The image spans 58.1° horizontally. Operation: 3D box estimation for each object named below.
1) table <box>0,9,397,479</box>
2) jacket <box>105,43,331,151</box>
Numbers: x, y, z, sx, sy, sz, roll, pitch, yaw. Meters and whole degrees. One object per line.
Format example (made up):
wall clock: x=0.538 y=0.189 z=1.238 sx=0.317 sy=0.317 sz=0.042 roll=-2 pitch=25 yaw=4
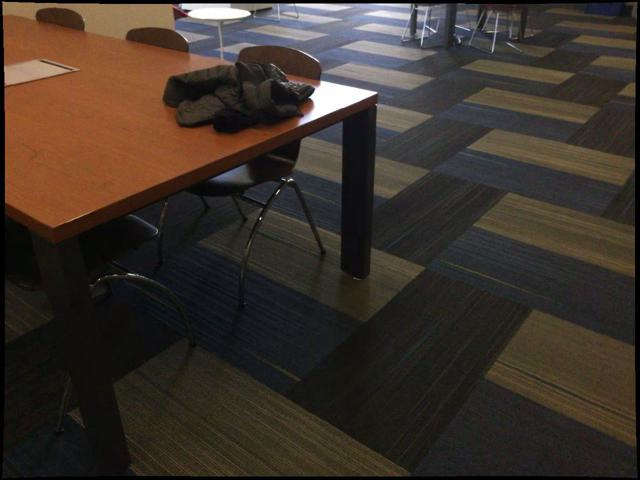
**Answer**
table: x=-1.157 y=-0.321 z=2.420 sx=2.526 sy=0.842 sz=1.409 roll=20 pitch=36 yaw=31
jacket: x=-0.309 y=-0.481 z=1.840 sx=0.489 sy=0.150 sz=0.500 roll=20 pitch=36 yaw=31
